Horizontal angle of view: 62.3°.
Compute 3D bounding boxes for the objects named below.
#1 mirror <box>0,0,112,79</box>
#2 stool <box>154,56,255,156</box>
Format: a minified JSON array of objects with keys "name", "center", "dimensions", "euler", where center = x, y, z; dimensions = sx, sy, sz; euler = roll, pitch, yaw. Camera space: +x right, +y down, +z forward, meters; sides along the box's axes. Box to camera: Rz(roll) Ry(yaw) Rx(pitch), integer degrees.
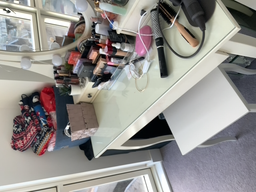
[{"name":"mirror","center":[-0.530,-0.330,0.930],"dimensions":[0.600,0.710,0.160],"euler":[-44,53,47]},{"name":"stool","center":[0.480,0.070,1.130],"dimensions":[0.420,0.460,0.290],"euler":[-53,47,41]}]
